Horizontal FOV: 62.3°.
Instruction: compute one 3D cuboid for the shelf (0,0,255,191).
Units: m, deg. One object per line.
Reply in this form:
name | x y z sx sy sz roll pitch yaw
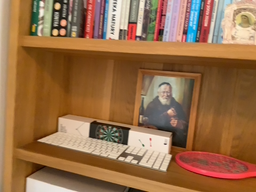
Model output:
shelf | 0.100 0.600 0.660 0.990 2.110 0.330 7 6 17
